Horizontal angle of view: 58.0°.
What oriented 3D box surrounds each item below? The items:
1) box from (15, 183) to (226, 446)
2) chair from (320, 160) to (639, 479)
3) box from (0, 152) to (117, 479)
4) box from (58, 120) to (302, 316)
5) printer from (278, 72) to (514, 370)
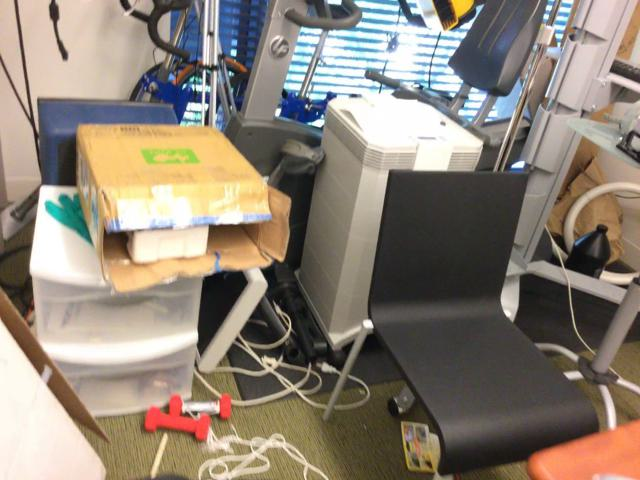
[{"bbox_3d":[-0.550,0.170,1.610,0.450,0.510,0.480,-2,28,-21],"label":"box"},{"bbox_3d":[0.350,0.300,1.360,0.430,0.810,0.590,-2,28,-21],"label":"chair"},{"bbox_3d":[-0.610,0.260,1.100,0.390,0.670,0.660,-3,28,-21],"label":"box"},{"bbox_3d":[-0.390,-0.100,1.500,0.480,0.270,0.550,-5,29,-26],"label":"box"},{"bbox_3d":[0.190,-0.070,1.910,0.410,0.800,0.520,1,27,-23],"label":"printer"}]
